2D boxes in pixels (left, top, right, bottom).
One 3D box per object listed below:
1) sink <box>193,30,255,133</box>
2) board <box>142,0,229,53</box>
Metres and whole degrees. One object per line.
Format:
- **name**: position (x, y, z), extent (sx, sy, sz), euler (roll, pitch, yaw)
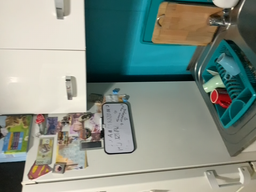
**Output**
- **sink**: position (0.540, -0.070, 1.100), extent (0.360, 0.150, 0.380), euler (104, 161, -51)
- **board**: position (0.280, -0.350, 1.100), extent (0.270, 0.360, 0.060), euler (105, 160, -52)
